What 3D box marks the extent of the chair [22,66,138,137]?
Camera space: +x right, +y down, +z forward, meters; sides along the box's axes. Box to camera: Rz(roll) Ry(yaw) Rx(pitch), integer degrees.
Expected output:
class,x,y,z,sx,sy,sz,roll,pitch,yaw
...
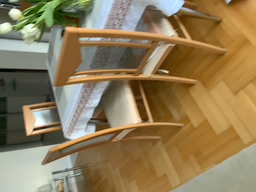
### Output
class,x,y,z,sx,sy,sz,roll,pitch,yaw
chair,-0.480,0.040,2.140,0.460,0.980,0.450,-53,50,44
